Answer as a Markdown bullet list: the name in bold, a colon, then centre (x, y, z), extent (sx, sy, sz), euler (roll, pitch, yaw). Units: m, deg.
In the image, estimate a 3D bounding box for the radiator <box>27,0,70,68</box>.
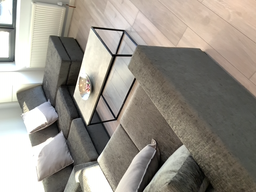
- **radiator**: centre (-1.400, -1.000, 3.670), extent (0.140, 0.530, 1.210), euler (59, 138, 31)
